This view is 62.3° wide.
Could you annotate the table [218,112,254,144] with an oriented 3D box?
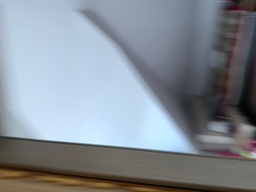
[{"bbox_3d":[1.850,0.540,3.690,0.540,0.370,0.320,-65,-24,-71],"label":"table"}]
